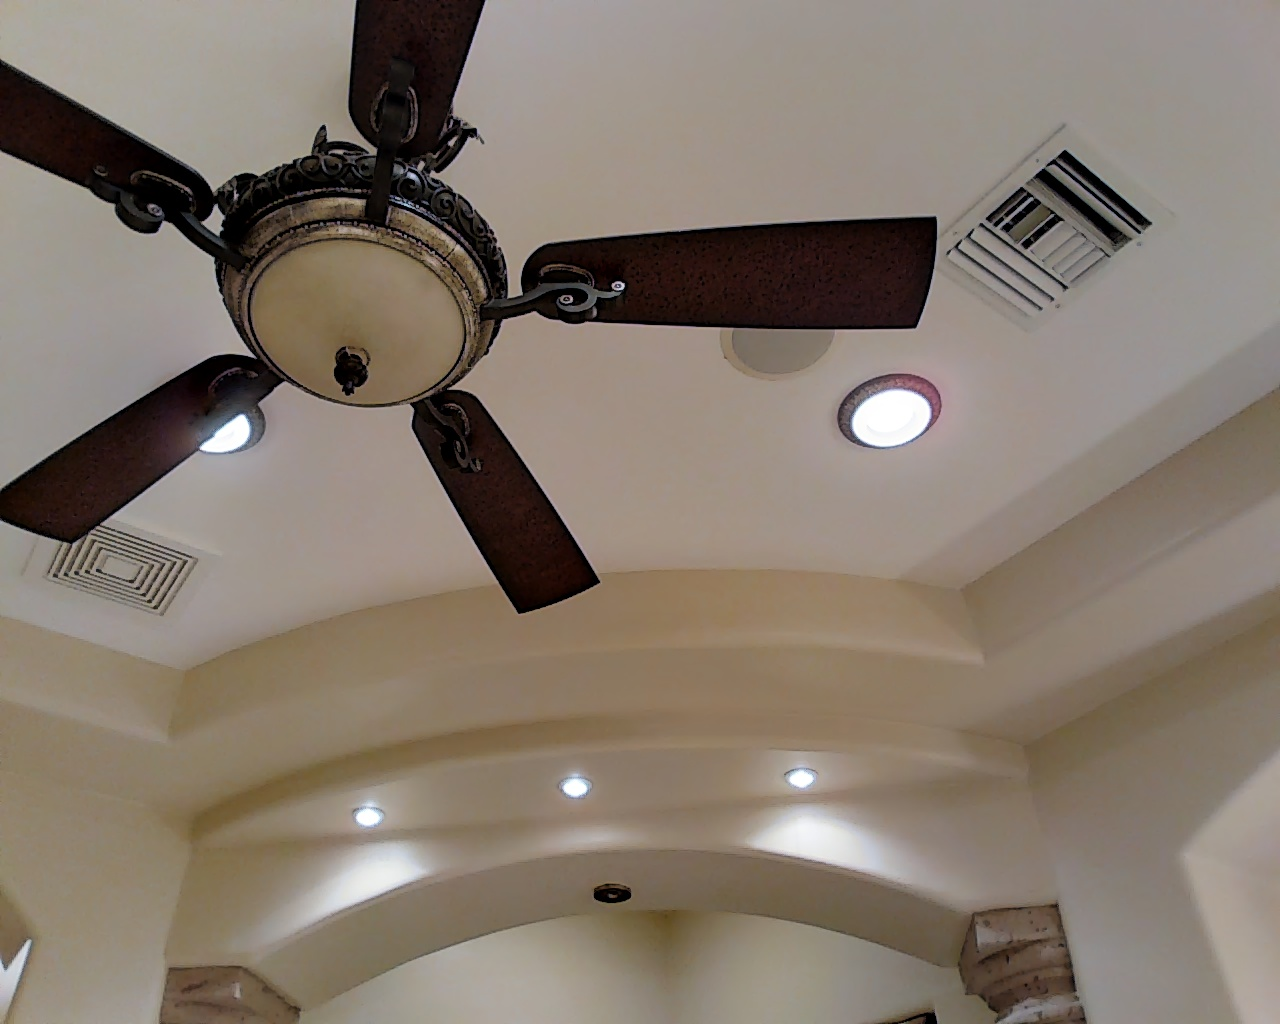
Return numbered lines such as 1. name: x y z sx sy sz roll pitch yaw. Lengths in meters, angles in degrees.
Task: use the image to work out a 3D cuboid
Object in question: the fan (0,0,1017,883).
1. fan: -0.370 -0.420 1.380 1.420 1.340 0.580 24 -46 -27
